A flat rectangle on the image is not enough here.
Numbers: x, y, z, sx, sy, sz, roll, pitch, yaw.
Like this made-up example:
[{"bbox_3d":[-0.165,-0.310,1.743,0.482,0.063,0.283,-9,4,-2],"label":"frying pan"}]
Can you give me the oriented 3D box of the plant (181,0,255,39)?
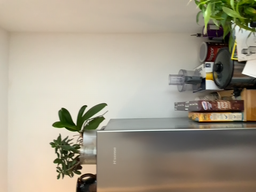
[{"bbox_3d":[0.560,-0.470,1.000,0.430,0.500,0.280,159,111,-87],"label":"plant"}]
